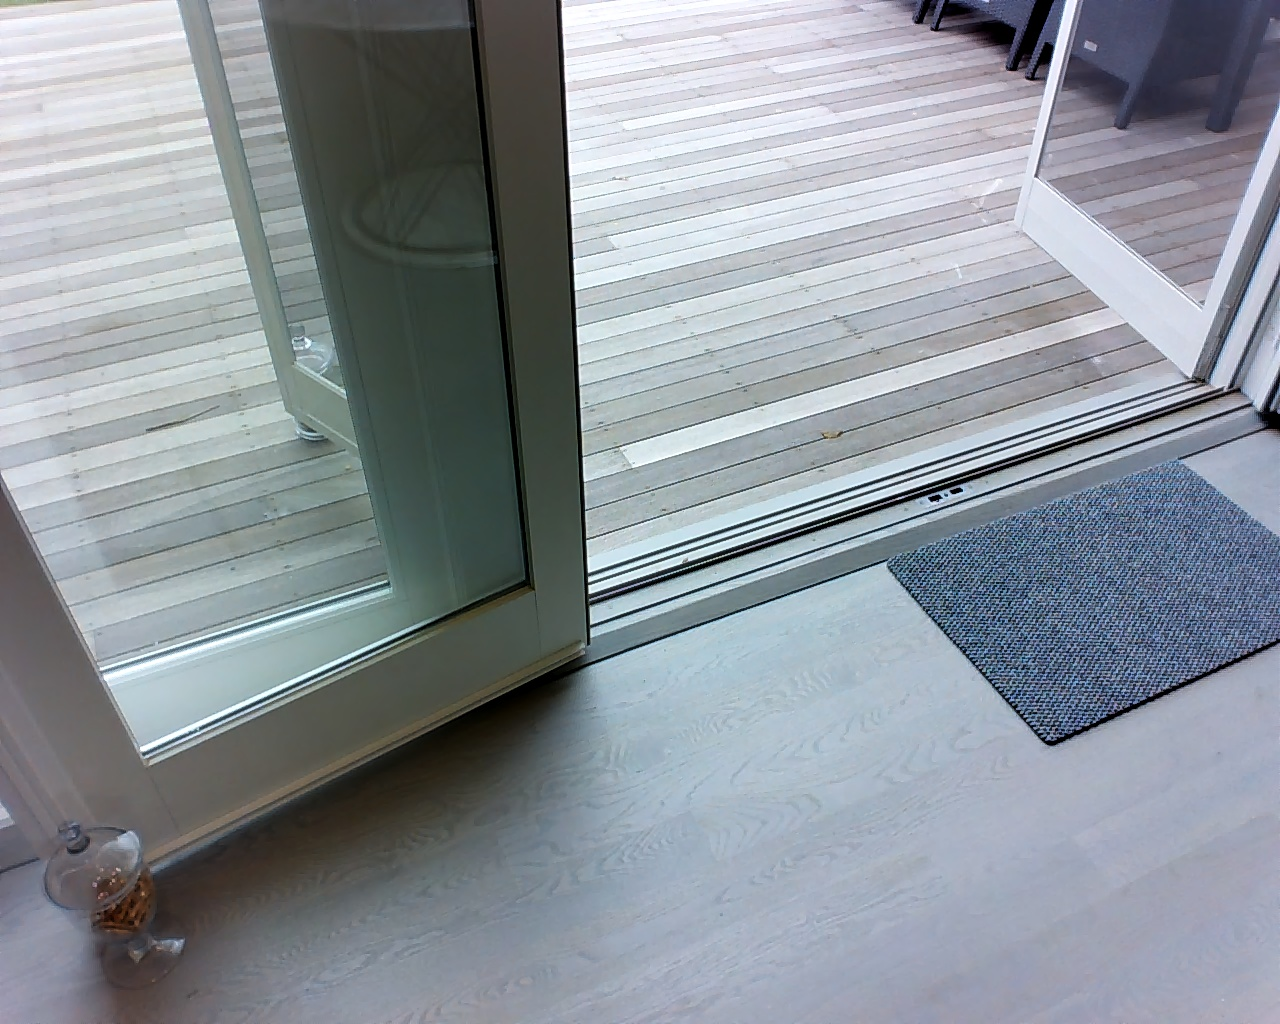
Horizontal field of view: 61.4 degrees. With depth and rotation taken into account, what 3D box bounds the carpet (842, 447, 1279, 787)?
[{"bbox_3d":[0.930,0.160,2.170,0.840,0.030,0.600,-18,44,-19],"label":"carpet"}]
